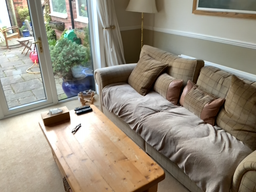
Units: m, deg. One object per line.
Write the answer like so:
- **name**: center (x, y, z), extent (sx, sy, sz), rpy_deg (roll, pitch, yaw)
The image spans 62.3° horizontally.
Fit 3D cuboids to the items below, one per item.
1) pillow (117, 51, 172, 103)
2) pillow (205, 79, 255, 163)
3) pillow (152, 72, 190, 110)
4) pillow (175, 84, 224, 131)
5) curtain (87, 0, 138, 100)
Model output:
- **pillow**: center (0.200, -0.260, 2.770), extent (0.220, 0.510, 0.490), rpy_deg (34, -1, -43)
- **pillow**: center (1.000, 0.180, 1.790), extent (0.240, 0.510, 0.490), rpy_deg (-3, 23, -32)
- **pillow**: center (0.490, -0.070, 2.480), extent (0.190, 0.300, 0.380), rpy_deg (-18, 31, -32)
- **pillow**: center (0.700, 0.100, 2.130), extent (0.160, 0.300, 0.430), rpy_deg (-15, 30, -29)
- **curtain**: center (-0.220, -1.210, 3.170), extent (0.710, 2.590, 0.240), rpy_deg (-13, 29, -25)
